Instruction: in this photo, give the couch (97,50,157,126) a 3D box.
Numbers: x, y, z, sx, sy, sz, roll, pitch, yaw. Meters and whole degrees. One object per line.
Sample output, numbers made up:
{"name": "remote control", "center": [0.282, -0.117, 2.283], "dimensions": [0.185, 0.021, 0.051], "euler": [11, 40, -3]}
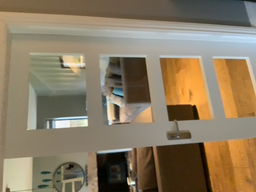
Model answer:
{"name": "couch", "center": [-0.170, -0.050, 5.200], "dimensions": [2.170, 0.880, 1.170], "euler": [128, 138, -67]}
